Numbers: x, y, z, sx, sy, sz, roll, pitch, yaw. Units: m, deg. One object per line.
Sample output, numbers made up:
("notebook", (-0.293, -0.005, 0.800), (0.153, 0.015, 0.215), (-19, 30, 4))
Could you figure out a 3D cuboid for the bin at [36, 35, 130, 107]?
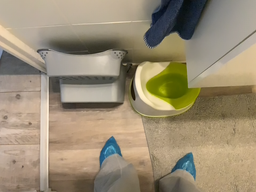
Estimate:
("bin", (-0.170, -0.090, 0.990), (0.330, 0.360, 0.230), (4, 82, 2))
